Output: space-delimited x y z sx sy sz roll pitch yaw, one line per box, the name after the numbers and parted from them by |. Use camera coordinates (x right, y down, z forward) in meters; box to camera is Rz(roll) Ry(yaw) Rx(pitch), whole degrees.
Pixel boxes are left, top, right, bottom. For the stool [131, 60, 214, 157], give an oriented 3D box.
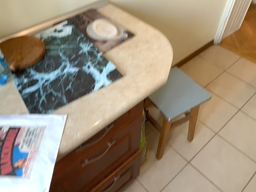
0.250 0.090 1.370 0.340 0.460 0.300 -25 54 -22 | stool
